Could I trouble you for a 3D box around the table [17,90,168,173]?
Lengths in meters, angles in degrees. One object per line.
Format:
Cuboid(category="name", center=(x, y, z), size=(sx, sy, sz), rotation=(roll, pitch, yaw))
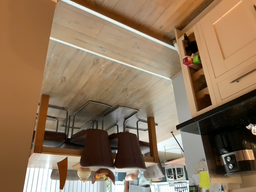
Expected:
Cuboid(category="table", center=(-0.570, 0.730, 3.480), size=(1.980, 0.760, 1.280), rotation=(13, 148, -28))
